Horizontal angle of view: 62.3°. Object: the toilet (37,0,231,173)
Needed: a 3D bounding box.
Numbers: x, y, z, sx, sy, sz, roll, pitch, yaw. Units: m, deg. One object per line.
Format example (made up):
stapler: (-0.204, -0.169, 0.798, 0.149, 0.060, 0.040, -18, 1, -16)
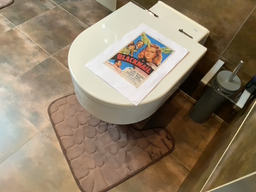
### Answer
toilet: (0.030, -0.080, 0.910, 0.390, 0.440, 0.580, 39, 60, 15)
